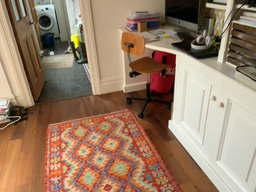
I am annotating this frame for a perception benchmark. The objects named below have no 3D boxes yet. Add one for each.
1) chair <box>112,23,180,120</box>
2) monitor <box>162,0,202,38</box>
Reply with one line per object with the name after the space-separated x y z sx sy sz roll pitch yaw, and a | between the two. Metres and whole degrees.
0.190 -0.290 2.360 0.480 0.870 0.490 -21 34 -29 | chair
0.530 -0.930 2.200 0.050 0.480 0.700 -13 31 -13 | monitor
